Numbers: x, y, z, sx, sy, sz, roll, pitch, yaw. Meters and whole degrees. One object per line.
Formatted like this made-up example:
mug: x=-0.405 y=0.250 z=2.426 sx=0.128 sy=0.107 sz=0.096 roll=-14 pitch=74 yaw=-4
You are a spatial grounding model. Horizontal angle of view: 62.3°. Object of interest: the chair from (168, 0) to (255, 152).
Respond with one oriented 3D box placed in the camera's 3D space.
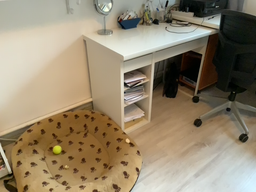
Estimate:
chair: x=0.920 y=-0.230 z=1.870 sx=0.710 sy=1.000 sz=0.730 roll=-16 pitch=37 yaw=-23
